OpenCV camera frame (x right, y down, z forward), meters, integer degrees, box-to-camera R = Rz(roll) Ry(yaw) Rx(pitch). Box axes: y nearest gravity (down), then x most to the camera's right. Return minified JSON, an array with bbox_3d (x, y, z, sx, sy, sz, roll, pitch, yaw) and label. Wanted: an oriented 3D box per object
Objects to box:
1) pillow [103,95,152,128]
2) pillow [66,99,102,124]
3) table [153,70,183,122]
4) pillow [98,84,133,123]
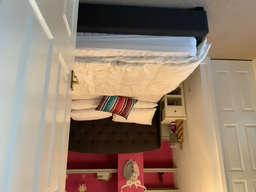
[{"bbox_3d":[-0.010,0.260,3.510,0.760,0.480,0.190,2,-148,1],"label":"pillow"},{"bbox_3d":[-0.700,0.260,3.470,0.520,0.400,0.210,0,-127,-3],"label":"pillow"},{"bbox_3d":[0.680,0.020,3.730,0.340,0.530,0.790,0,-106,-3],"label":"table"},{"bbox_3d":[-0.190,0.110,3.250,0.460,0.420,0.230,-21,-136,-27],"label":"pillow"}]
